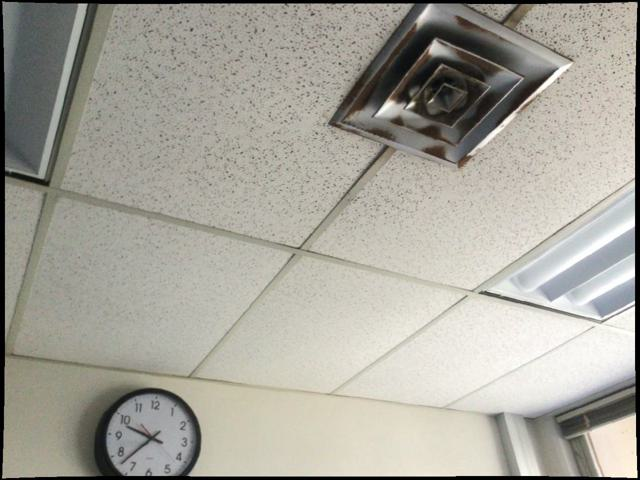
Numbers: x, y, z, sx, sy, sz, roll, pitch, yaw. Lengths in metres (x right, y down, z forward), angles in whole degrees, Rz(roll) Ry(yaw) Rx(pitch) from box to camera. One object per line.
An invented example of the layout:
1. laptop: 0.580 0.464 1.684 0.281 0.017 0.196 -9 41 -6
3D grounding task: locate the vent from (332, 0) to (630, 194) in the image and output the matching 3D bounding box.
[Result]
1. vent: 0.289 -0.291 1.120 0.359 0.060 0.440 14 -40 -26

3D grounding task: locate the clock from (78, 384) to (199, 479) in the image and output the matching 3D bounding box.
1. clock: -0.598 0.692 1.930 0.359 0.371 0.070 14 -40 -26
